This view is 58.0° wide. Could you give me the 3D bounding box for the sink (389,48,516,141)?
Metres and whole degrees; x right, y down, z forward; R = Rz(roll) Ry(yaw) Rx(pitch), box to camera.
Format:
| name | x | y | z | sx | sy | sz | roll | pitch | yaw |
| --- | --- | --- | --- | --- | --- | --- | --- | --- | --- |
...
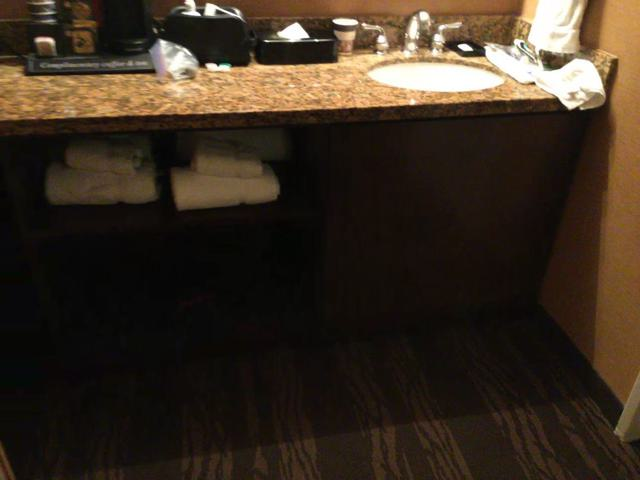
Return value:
| name | x | y | z | sx | sy | sz | roll | pitch | yaw |
| --- | --- | --- | --- | --- | --- | --- | --- | --- | --- |
| sink | 0.400 | -0.460 | 1.800 | 0.290 | 0.180 | 0.250 | -7 | 37 | -10 |
